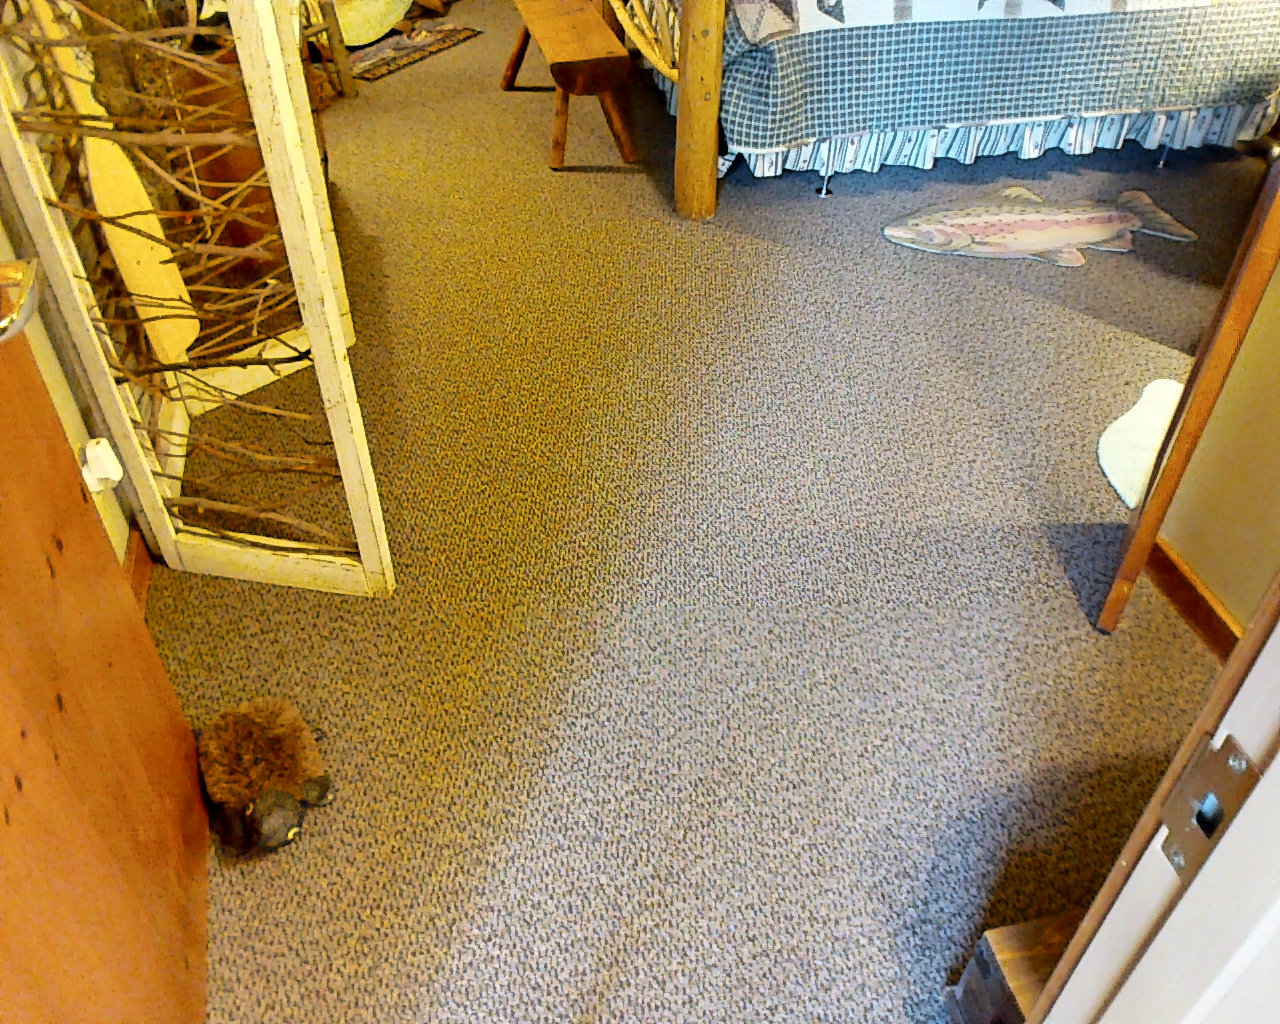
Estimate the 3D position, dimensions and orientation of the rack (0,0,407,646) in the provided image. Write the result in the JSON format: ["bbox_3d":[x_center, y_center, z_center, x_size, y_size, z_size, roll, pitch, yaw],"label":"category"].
[{"bbox_3d":[-0.860,-0.840,1.940,0.540,1.860,1.130,-8,42,-10],"label":"rack"}]
